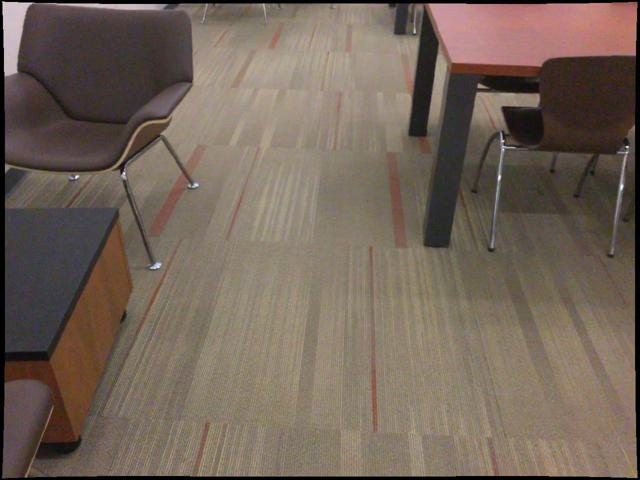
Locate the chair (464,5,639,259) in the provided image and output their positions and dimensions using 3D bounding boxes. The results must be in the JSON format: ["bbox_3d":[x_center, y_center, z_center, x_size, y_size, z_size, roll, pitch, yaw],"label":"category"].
[{"bbox_3d":[0.948,-0.441,2.320,0.499,0.811,0.641,0,35,1],"label":"chair"}]

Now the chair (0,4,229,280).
[{"bbox_3d":[-0.967,-0.451,2.390,0.898,0.781,0.881,4,35,6],"label":"chair"}]

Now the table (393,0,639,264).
[{"bbox_3d":[1.945,-0.622,2.610,3.062,0.801,1.381,1,35,2],"label":"table"}]
